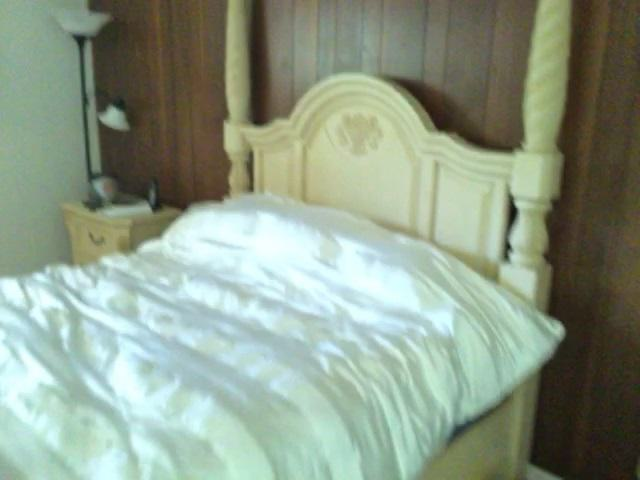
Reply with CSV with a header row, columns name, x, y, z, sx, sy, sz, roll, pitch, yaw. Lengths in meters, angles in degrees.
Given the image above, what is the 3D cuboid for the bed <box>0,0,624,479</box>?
name,x,y,z,sx,sy,sz,roll,pitch,yaw
bed,-0.620,-0.150,1.660,2.050,2.260,2.330,13,19,38
